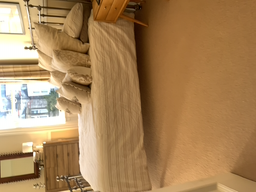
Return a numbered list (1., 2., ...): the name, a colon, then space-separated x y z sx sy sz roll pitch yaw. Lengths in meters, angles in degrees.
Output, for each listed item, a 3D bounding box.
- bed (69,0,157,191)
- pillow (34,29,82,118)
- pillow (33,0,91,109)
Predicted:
1. bed: -0.370 0.040 2.990 1.590 0.640 2.170 159 108 -68
2. pillow: -1.070 -0.290 3.200 0.670 0.560 1.160 157 109 -68
3. pillow: -0.790 -0.430 2.480 0.670 0.520 1.090 161 105 -68
